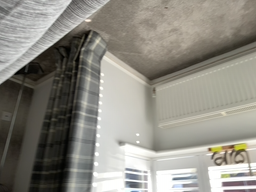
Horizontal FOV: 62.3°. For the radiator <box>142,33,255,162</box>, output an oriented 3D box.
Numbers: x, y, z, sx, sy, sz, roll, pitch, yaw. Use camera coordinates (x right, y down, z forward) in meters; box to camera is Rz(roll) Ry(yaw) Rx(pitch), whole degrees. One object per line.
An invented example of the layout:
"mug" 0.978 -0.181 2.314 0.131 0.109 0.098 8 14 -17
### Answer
"radiator" 0.650 0.070 1.760 1.110 0.800 0.260 -19 148 35
